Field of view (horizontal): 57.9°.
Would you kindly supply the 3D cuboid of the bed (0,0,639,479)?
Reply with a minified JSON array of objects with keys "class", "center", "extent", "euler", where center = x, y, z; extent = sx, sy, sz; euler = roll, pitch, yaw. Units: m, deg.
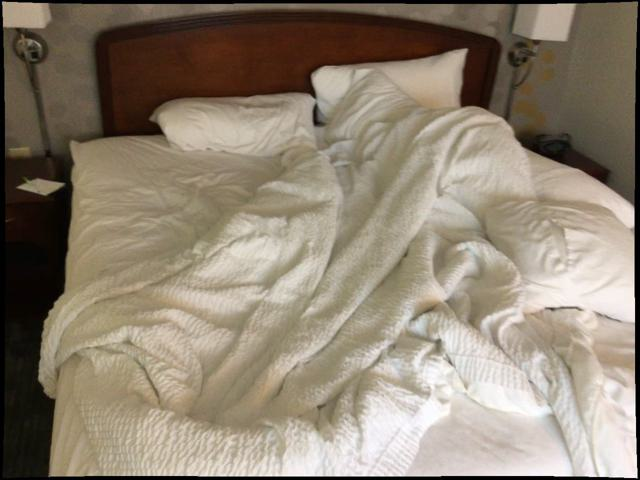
[{"class":"bed","center":[0.420,-0.040,1.980],"extent":[2.398,1.091,2.120],"euler":[-5,32,-18]}]

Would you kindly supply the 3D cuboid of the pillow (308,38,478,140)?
[{"class":"pillow","center":[0.320,-0.691,2.640],"extent":[0.679,0.380,0.250],"euler":[-5,32,-18]}]

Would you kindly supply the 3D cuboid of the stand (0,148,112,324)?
[{"class":"stand","center":[-1.119,-0.030,2.300],"extent":[0.490,0.510,0.460],"euler":[-6,32,-19]}]

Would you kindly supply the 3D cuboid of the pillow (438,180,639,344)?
[{"class":"pillow","center":[0.659,0.030,1.590],"extent":[0.470,0.190,0.460],"euler":[-5,32,-18]}]
